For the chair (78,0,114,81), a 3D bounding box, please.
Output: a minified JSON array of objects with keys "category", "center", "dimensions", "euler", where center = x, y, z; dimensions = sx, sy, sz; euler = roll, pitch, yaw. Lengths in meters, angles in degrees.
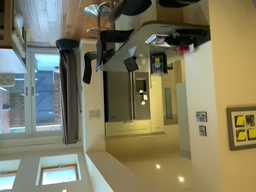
[{"category":"chair","center":[-0.500,-0.790,3.220],"dimensions":[0.430,1.080,0.460],"euler":[-1,176,-21]}]
